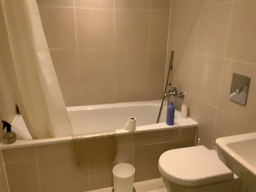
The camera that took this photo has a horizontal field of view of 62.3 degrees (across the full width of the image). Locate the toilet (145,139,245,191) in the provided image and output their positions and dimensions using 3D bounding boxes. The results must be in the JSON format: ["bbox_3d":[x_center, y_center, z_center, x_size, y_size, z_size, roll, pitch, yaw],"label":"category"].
[{"bbox_3d":[0.480,0.690,1.660,0.570,0.500,0.400,-4,18,-17],"label":"toilet"}]
